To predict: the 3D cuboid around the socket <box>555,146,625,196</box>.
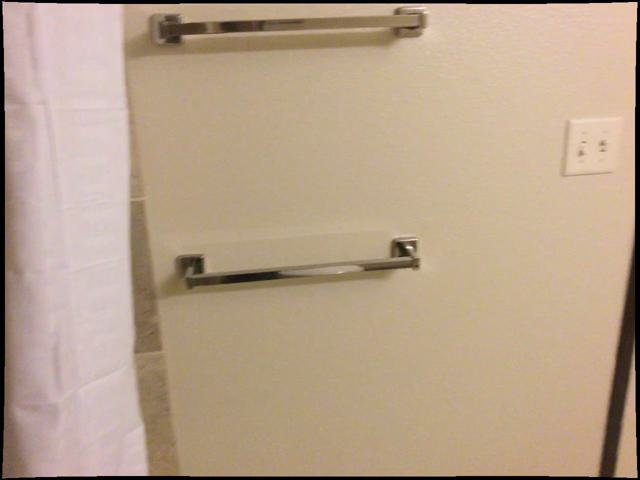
[{"bbox_3d":[0.588,-0.150,1.260,0.130,0.100,0.030,-3,20,-7],"label":"socket"}]
